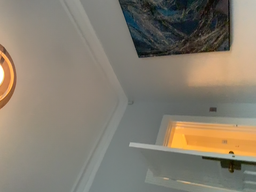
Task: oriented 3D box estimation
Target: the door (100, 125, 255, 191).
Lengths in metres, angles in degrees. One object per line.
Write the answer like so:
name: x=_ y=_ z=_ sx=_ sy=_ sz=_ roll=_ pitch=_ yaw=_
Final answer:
door: x=0.980 y=0.630 z=1.840 sx=0.990 sy=2.340 sz=0.130 roll=56 pitch=-137 yaw=-47
